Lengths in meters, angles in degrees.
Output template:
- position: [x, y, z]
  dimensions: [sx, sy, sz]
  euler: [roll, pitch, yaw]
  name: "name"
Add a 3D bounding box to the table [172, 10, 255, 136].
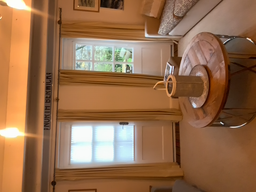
- position: [0.910, -0.170, 2.330]
  dimensions: [1.070, 0.440, 1.060]
  euler: [167, 104, -79]
  name: "table"
